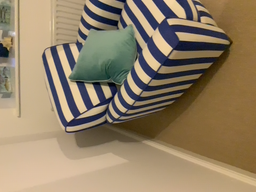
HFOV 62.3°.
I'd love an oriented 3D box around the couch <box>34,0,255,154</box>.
[{"bbox_3d":[-0.010,-0.330,1.410,0.920,0.840,0.920,-56,50,38],"label":"couch"}]
